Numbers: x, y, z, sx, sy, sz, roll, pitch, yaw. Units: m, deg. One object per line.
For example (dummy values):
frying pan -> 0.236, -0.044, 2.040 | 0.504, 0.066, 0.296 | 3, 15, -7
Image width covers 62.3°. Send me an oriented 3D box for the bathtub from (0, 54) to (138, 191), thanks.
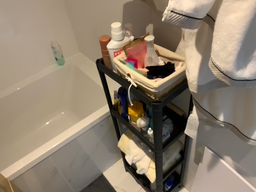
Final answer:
bathtub -> -0.690, 0.380, 1.480 | 1.350, 0.620, 0.680 | -31, 49, -22
